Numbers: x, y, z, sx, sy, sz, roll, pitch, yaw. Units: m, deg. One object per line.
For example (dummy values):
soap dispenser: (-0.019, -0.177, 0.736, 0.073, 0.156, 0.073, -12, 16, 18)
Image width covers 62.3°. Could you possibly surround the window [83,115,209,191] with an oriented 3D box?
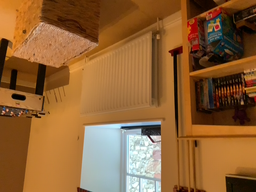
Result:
window: (0.150, 0.770, 2.520, 1.340, 0.930, 0.650, -10, 163, 43)
